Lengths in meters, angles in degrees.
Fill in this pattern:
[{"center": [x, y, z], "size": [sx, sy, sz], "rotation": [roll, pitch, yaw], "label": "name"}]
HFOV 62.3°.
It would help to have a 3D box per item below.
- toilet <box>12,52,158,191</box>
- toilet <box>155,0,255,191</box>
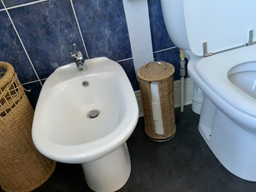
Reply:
[{"center": [-0.150, 0.150, 0.900], "size": [0.370, 0.410, 0.550], "rotation": [-15, 36, -6], "label": "toilet"}, {"center": [0.420, -0.120, 0.780], "size": [0.420, 0.810, 0.690], "rotation": [-14, 36, -5], "label": "toilet"}]
